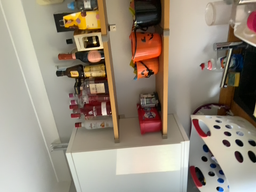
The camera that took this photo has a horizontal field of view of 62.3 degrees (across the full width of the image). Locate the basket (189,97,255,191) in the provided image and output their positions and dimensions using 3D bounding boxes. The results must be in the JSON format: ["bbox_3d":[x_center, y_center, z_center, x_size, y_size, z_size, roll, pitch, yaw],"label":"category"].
[{"bbox_3d":[0.630,0.280,1.300,0.590,0.310,0.290,-97,2,-63],"label":"basket"}]
